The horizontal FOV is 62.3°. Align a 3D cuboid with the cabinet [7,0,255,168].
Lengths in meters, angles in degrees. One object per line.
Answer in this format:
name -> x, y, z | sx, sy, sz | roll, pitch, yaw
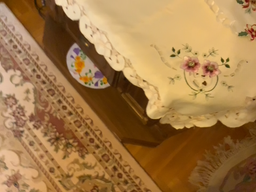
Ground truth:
cabinet -> 0.000, -0.280, 0.880 | 0.570, 0.770, 0.960 | -39, 82, -19
